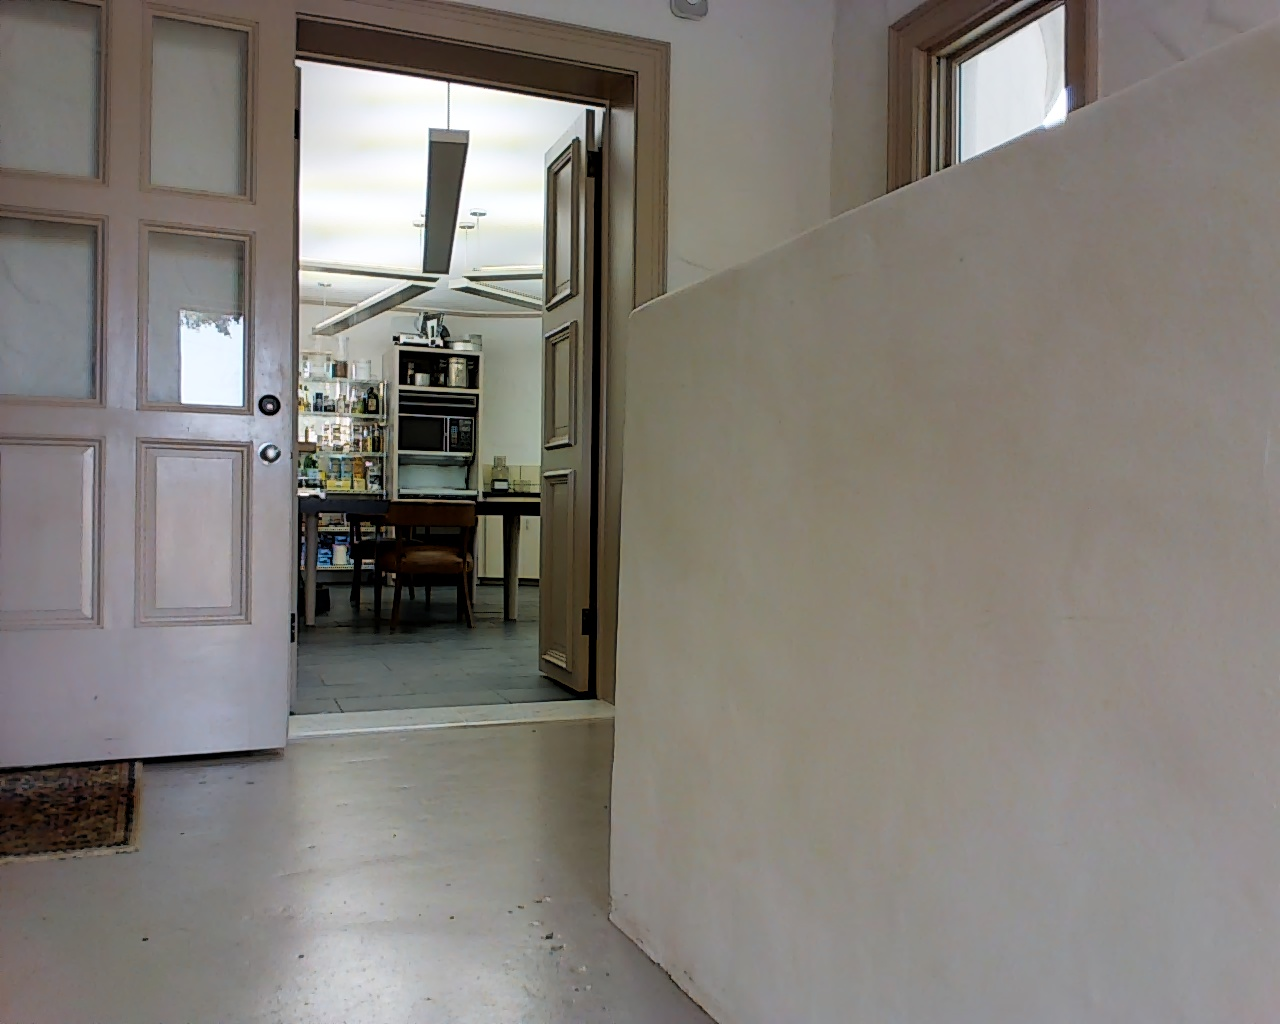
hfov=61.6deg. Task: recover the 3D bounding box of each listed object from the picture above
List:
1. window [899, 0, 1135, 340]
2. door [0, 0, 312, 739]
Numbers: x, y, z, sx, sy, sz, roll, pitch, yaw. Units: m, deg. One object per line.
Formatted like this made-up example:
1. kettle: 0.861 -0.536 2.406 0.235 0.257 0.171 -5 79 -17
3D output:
1. window: 1.120 -1.140 3.300 0.150 1.090 0.860 1 0 -22
2. door: -1.420 -0.490 3.030 0.920 2.200 0.070 1 0 -25
